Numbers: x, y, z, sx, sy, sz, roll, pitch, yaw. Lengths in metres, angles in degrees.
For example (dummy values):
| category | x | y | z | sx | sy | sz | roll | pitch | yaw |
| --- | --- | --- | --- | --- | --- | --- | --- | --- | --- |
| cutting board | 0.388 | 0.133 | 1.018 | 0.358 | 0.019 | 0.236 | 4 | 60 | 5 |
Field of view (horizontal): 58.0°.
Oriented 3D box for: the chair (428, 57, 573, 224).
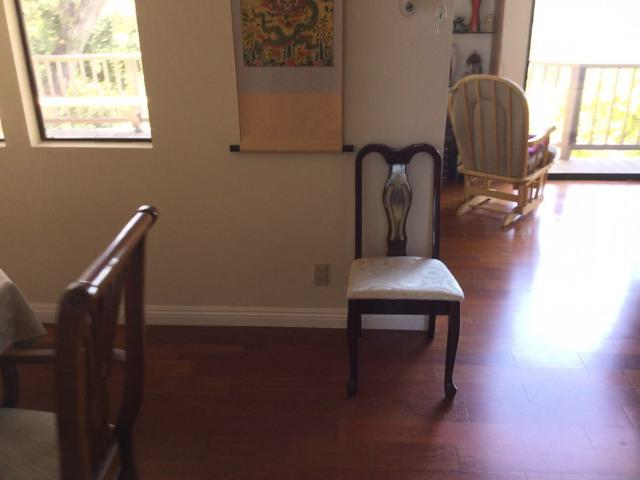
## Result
| category | x | y | z | sx | sy | sz | roll | pitch | yaw |
| --- | --- | --- | --- | --- | --- | --- | --- | --- | --- |
| chair | 1.320 | -0.780 | 4.240 | 0.700 | 1.020 | 0.850 | 12 | 25 | 32 |

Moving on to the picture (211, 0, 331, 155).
| category | x | y | z | sx | sy | sz | roll | pitch | yaw |
| --- | --- | --- | --- | --- | --- | --- | --- | --- | --- |
| picture | -0.190 | -0.950 | 2.250 | 0.450 | 1.220 | 0.100 | -1 | 21 | 1 |

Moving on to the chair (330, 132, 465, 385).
| category | x | y | z | sx | sy | sz | roll | pitch | yaw |
| --- | --- | --- | --- | --- | --- | --- | --- | --- | --- |
| chair | 0.280 | 0.060 | 2.400 | 0.460 | 0.910 | 0.530 | -1 | 21 | 1 |
